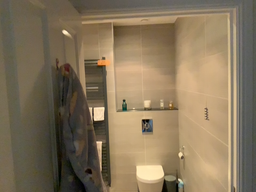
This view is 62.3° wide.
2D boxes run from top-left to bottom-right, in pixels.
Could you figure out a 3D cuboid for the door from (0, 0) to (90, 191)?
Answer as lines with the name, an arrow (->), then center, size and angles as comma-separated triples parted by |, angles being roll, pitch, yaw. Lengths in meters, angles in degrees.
door -> -0.230, 0.460, 0.730 | 0.070, 1.990, 0.780 | -2, 5, -1
